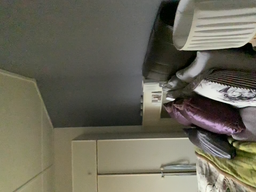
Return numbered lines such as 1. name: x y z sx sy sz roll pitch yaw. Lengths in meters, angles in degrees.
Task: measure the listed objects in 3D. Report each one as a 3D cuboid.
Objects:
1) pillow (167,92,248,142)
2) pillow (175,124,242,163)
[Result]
1. pillow: 0.480 0.130 1.370 0.370 0.330 0.170 134 115 -84
2. pillow: 0.560 0.330 1.560 0.110 0.300 0.430 63 174 4
